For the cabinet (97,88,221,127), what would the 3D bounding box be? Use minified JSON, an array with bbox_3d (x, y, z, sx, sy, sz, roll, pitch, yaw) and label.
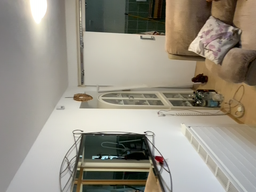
[{"bbox_3d":[0.400,0.150,3.380,0.910,1.740,0.280,-111,23,-70],"label":"cabinet"}]
